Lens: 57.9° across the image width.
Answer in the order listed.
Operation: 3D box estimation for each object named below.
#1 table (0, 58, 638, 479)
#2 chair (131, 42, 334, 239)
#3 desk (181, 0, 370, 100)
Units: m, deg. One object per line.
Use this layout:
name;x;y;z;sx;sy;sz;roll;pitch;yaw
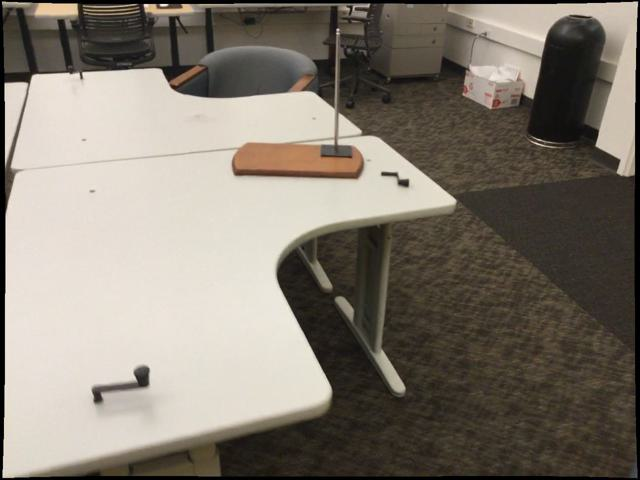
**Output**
table;-0.400;0.020;2.060;1.319;0.711;2.340;-9;32;-18
chair;-0.380;-0.561;3.030;0.799;0.711;0.870;5;31;6
desk;-0.410;-1.802;5.130;1.459;0.771;0.820;-9;32;-18
